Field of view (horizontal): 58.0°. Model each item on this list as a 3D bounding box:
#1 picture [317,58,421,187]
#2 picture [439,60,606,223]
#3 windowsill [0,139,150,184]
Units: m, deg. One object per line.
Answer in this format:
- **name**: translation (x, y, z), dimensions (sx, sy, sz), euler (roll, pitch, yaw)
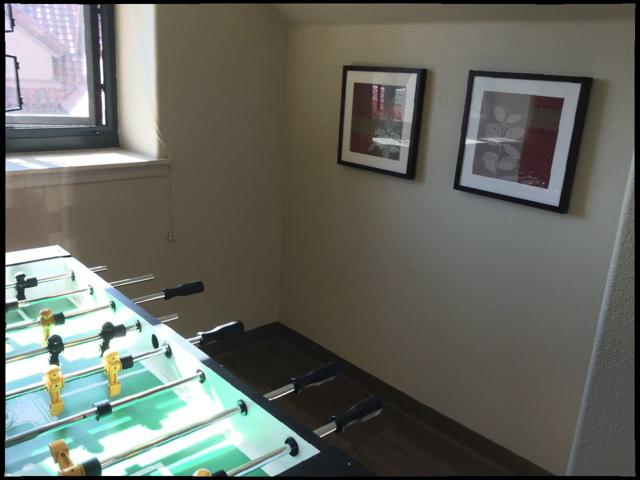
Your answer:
- **picture**: translation (0.190, -0.511, 2.450), dimensions (0.050, 0.481, 0.490), euler (-13, 23, -43)
- **picture**: translation (0.679, -0.361, 2.020), dimensions (0.090, 0.491, 0.500), euler (-13, 23, -43)
- **windowsill**: translation (-1.597, -0.230, 1.960), dimensions (1.978, 0.080, 0.450), euler (-13, 23, -43)
